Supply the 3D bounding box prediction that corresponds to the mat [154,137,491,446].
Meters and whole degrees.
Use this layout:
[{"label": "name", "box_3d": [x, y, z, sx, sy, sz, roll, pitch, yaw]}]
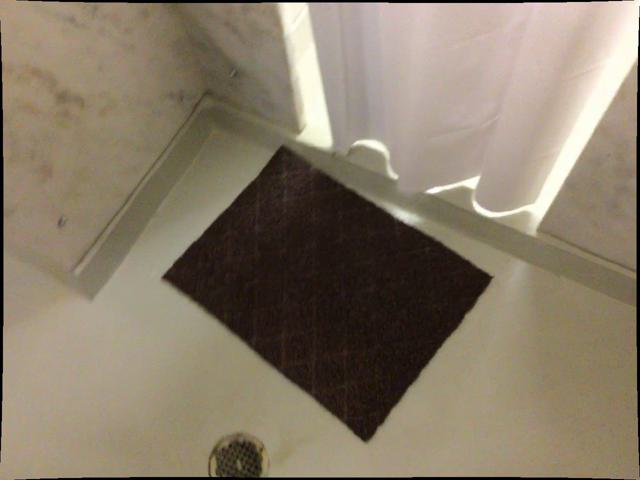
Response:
[{"label": "mat", "box_3d": [0.000, 0.080, 1.390, 0.640, 0.050, 0.490, 36, 70, 19]}]
